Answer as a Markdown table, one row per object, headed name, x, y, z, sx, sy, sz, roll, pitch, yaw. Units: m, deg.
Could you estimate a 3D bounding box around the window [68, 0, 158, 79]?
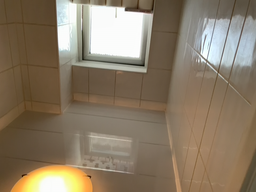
| name | x | y | z | sx | sy | sz | roll | pitch | yaw |
| --- | --- | --- | --- | --- | --- | --- | --- | --- | --- |
| window | -0.100 | -0.470 | 1.560 | 0.570 | 0.560 | 0.290 | 8 | -156 | 6 |
